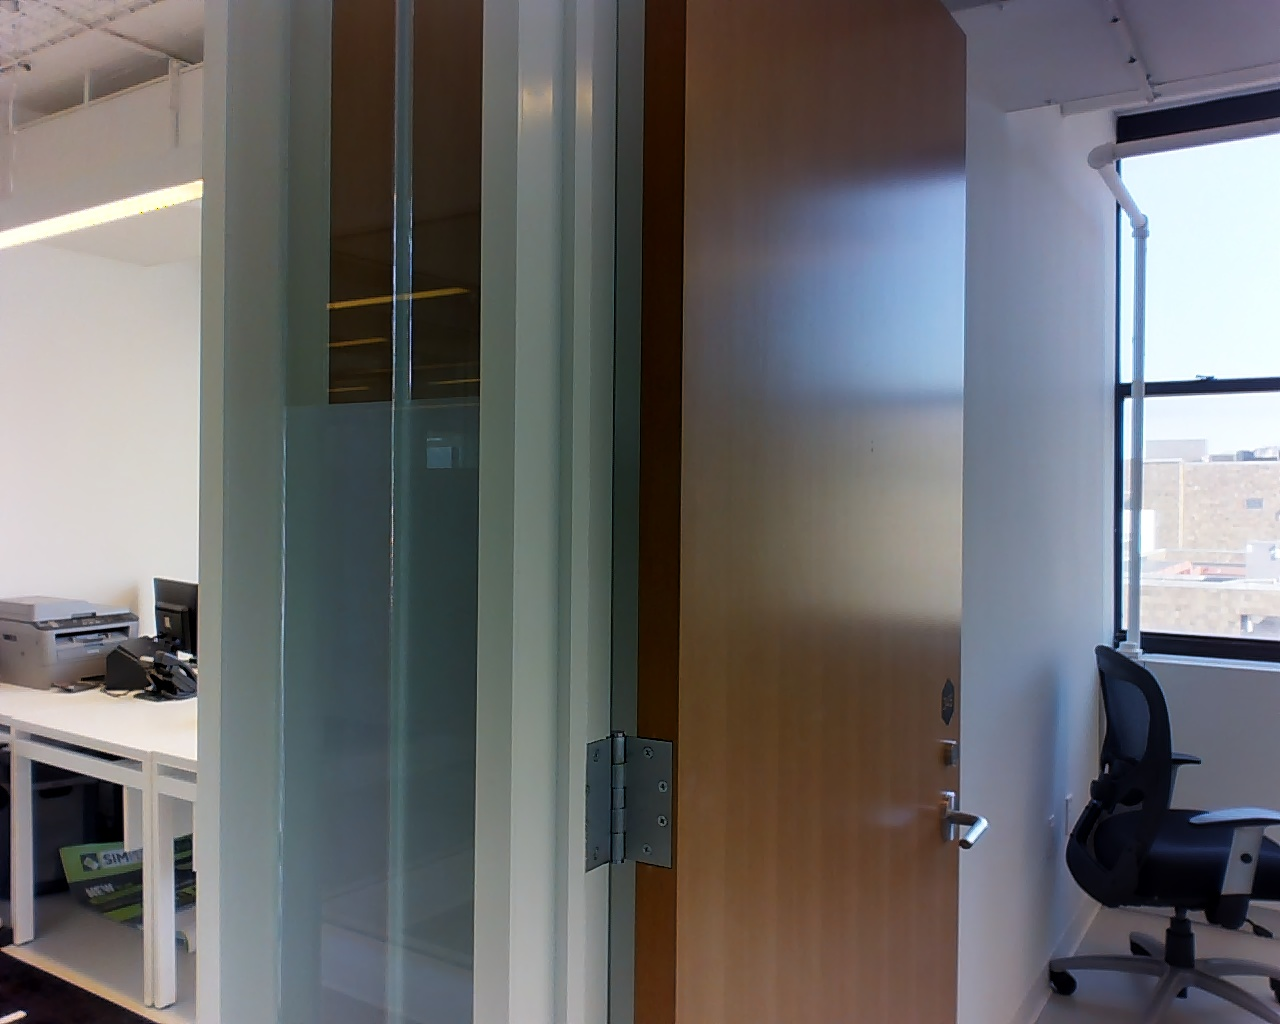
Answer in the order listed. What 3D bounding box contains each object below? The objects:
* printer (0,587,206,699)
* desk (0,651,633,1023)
[{"bbox_3d":[-2.150,0.490,4.190,0.570,0.330,0.620,1,0,32],"label":"printer"},{"bbox_3d":[-1.380,1.030,3.740,2.370,0.760,1.310,1,0,32],"label":"desk"}]
